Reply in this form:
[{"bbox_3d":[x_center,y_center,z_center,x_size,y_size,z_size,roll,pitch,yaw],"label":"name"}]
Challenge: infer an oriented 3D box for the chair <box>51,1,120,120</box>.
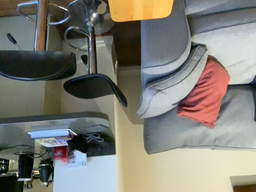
[{"bbox_3d":[-0.270,-0.230,1.470,0.330,0.690,0.360,-7,158,6],"label":"chair"}]
